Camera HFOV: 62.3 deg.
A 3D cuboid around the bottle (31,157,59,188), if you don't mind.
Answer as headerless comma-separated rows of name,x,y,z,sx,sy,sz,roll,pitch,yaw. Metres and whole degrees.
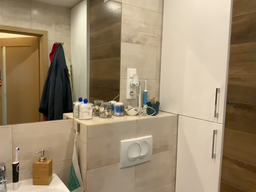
bottle,-0.450,0.410,1.150,0.130,0.110,0.080,-2,7,-34
